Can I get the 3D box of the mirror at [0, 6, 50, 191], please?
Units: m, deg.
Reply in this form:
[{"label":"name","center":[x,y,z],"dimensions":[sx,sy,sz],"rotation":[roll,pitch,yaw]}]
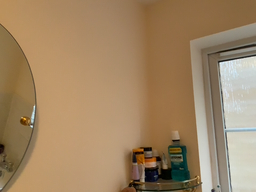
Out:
[{"label":"mirror","center":[-0.420,0.030,0.540],"dimensions":[0.090,0.570,0.420],"rotation":[-8,-10,37]}]
